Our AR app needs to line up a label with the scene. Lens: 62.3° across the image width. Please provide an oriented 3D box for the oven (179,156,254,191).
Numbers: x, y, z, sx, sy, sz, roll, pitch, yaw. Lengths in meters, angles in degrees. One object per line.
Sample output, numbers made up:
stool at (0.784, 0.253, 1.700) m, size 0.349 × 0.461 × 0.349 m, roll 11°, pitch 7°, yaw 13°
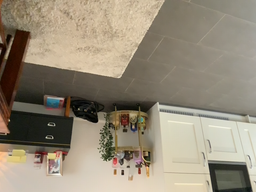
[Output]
oven at (1.150, 1.110, 2.850) m, size 0.610 × 0.450 × 0.630 m, roll 9°, pitch 152°, yaw -19°
